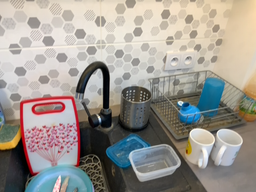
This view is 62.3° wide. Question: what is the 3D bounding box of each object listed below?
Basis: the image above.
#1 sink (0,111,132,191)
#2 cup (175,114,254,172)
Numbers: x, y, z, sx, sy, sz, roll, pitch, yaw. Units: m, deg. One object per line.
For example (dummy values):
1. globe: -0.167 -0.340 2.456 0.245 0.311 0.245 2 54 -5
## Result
1. sink: -0.230 0.310 0.720 0.390 0.240 0.460 -7 34 -17
2. cup: 0.300 0.160 0.760 0.190 0.090 0.160 -6 34 -16
